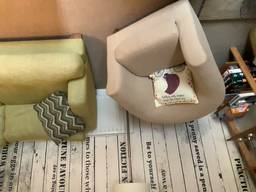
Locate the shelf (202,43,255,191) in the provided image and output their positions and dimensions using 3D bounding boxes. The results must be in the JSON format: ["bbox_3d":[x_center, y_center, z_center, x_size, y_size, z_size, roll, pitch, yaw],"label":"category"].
[{"bbox_3d":[1.270,0.320,2.240,0.370,1.510,0.850,-3,156,-3],"label":"shelf"}]

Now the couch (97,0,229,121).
[{"bbox_3d":[0.280,-0.280,1.770,0.790,0.680,0.720,-17,153,27],"label":"couch"}]

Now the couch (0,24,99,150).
[{"bbox_3d":[-1.740,0.070,2.140,2.730,0.760,1.200,-4,156,-1],"label":"couch"}]
